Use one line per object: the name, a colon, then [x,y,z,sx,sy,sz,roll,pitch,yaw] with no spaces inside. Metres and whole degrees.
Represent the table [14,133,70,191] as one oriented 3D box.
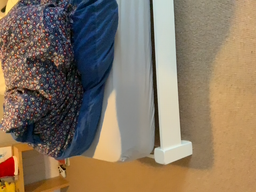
table: [-0.970,0.750,2.410,0.290,0.490,0.540,0,94,50]
